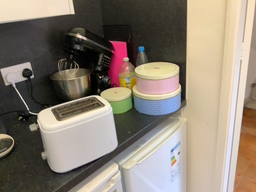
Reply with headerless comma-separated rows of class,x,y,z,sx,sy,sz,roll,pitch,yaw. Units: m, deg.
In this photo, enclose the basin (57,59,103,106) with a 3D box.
basin,-0.280,-0.090,1.260,0.190,0.210,0.150,-24,30,-38
